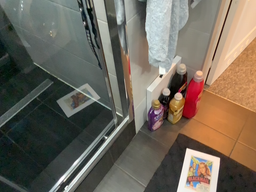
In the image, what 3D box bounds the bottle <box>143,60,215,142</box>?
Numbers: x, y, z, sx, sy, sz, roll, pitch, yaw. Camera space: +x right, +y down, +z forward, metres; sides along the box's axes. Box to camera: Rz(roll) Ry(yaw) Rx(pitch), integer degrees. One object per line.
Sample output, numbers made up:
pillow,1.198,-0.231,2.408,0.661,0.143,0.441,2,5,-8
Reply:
bottle,0.340,0.030,1.470,0.230,0.310,0.440,36,63,28
